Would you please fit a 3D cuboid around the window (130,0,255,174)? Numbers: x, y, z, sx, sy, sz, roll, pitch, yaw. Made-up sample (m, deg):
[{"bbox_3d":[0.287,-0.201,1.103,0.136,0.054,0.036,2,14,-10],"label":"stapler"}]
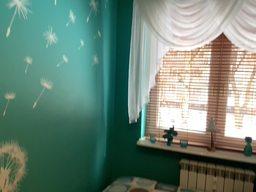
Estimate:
[{"bbox_3d":[0.910,-0.240,2.120,1.740,1.890,0.210,4,7,18],"label":"window"}]
